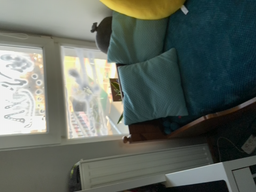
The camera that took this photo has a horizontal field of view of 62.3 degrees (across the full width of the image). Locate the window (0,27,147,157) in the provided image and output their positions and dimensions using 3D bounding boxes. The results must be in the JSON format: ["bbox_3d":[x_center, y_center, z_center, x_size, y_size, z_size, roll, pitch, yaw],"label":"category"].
[{"bbox_3d":[-0.820,-0.060,1.410,0.180,1.890,0.880,-47,49,51],"label":"window"}]
